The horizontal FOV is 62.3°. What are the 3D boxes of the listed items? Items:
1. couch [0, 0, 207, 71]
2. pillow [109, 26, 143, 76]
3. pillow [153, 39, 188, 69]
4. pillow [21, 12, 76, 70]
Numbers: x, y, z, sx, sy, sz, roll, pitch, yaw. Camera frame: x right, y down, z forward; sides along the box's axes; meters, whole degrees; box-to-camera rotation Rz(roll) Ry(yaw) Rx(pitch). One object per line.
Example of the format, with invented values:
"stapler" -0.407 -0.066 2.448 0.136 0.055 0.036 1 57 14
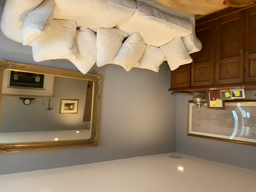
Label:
"couch" -0.180 -0.940 2.750 2.450 0.810 1.040 4 177 -35
"pillow" -0.010 -0.620 3.000 0.290 0.480 0.430 19 161 11
"pillow" 0.630 -0.610 3.160 0.320 0.320 0.390 6 174 -27
"pillow" -0.910 -0.640 2.500 0.360 0.480 0.300 27 159 0
